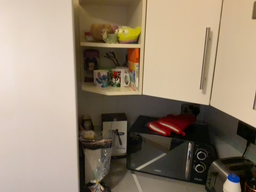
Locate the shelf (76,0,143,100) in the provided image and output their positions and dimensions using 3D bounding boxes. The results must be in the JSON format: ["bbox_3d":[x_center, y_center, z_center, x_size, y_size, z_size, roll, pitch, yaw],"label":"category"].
[{"bbox_3d":[-0.120,-0.380,1.120,0.290,0.720,0.380,-2,15,-13],"label":"shelf"}]
